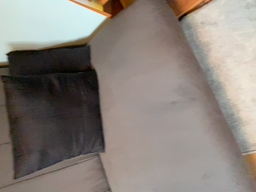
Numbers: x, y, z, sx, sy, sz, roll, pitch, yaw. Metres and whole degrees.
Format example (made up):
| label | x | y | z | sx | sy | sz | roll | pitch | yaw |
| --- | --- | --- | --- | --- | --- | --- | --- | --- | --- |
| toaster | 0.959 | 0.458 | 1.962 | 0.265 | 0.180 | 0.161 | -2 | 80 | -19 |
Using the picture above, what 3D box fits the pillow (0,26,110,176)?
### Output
| label | x | y | z | sx | sy | sz | roll | pitch | yaw |
| --- | --- | --- | --- | --- | --- | --- | --- | --- | --- |
| pillow | -0.330 | 0.020 | 0.920 | 0.220 | 0.300 | 0.520 | -26 | 76 | 33 |
